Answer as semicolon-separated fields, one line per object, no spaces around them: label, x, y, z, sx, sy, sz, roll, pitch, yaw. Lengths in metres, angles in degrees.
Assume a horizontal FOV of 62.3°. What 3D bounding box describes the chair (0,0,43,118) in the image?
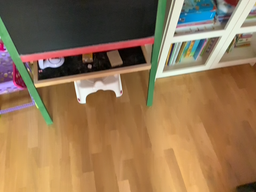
chair;-0.720;-0.170;1.200;0.290;0.560;0.350;-9;61;-9
